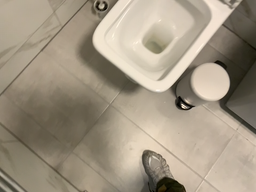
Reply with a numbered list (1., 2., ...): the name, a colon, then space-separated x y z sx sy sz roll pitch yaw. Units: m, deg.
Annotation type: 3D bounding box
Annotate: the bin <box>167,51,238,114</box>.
1. bin: 0.340 -0.050 1.020 0.170 0.250 0.190 36 81 3
